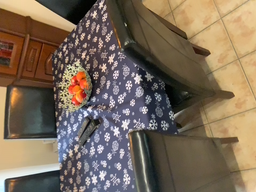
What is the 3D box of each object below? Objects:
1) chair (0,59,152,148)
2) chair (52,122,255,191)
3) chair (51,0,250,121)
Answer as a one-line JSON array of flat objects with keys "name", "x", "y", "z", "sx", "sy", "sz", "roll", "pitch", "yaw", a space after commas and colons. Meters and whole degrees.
[{"name": "chair", "x": -0.390, "y": 0.120, "z": 1.780, "sx": 0.500, "sy": 1.090, "sz": 0.430, "roll": -33, "pitch": 61, "yaw": 39}, {"name": "chair", "x": 0.290, "y": 0.430, "z": 1.030, "sx": 0.510, "sy": 1.090, "sz": 0.430, "roll": -34, "pitch": 61, "yaw": 38}, {"name": "chair", "x": 0.190, "y": -0.160, "z": 1.240, "sx": 0.490, "sy": 1.060, "sz": 0.430, "roll": -37, "pitch": 59, "yaw": 37}]
